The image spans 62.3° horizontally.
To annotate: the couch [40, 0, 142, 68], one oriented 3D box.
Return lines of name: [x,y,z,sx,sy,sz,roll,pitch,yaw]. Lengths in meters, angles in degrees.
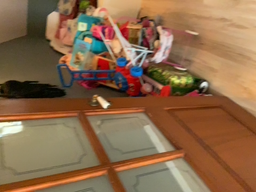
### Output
couch: [-0.660,-1.100,3.020,1.660,0.730,0.870,39,122,48]
